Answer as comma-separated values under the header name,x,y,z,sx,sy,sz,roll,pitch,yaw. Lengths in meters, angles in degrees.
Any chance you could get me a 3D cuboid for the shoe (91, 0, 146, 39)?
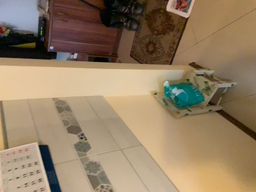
name,x,y,z,sx,sy,sz,roll,pitch,yaw
shoe,-0.110,-0.850,2.220,0.310,0.400,0.370,46,129,45
